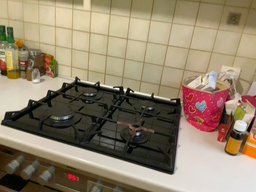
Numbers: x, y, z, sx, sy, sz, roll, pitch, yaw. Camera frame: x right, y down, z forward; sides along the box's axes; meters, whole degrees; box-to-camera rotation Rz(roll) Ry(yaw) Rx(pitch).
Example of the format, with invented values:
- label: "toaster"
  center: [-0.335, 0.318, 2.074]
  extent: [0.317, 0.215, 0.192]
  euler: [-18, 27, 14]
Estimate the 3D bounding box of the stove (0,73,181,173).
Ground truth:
- label: "stove"
  center: [-0.090, 0.040, 0.880]
  extent: [0.590, 0.030, 0.550]
  euler: [13, 23, 12]
